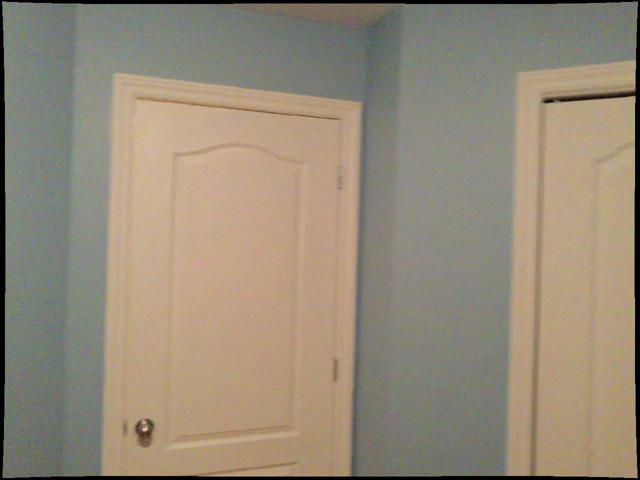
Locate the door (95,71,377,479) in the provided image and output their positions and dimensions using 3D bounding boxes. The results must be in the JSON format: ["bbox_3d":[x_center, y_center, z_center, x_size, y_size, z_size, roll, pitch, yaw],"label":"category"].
[{"bbox_3d":[-0.300,0.490,2.070,0.919,2.012,0.220,2,1,-19],"label":"door"}]
